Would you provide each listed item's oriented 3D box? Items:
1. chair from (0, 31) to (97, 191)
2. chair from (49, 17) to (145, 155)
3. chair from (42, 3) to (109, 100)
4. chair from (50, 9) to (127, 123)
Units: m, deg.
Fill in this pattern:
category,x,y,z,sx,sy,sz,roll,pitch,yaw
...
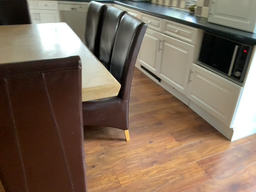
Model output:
category,x,y,z,sx,sy,sz,roll,pitch,yaw
chair,-0.480,0.210,1.170,0.440,0.970,0.580,-11,32,-22
chair,-0.250,-0.090,1.720,0.590,0.970,0.420,-8,31,-18
chair,-0.580,-0.530,2.460,0.590,0.970,0.430,-12,32,-24
chair,-0.370,-0.300,2.060,0.590,0.970,0.410,-8,31,-18
